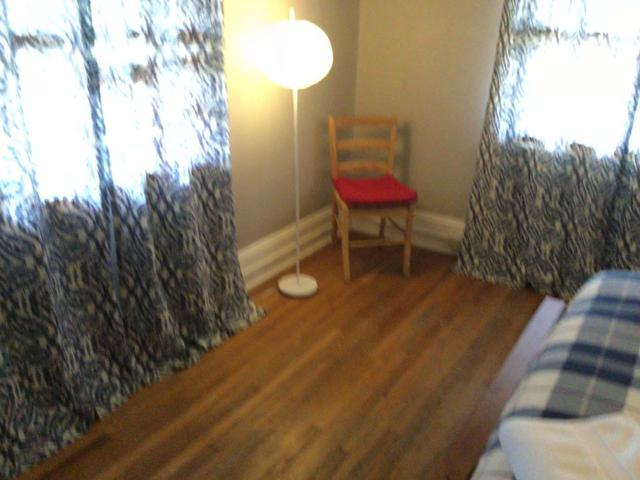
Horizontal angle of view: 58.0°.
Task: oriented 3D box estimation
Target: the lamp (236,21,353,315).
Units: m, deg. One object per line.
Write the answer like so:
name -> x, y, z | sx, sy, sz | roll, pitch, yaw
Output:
lamp -> -0.120, -0.360, 2.930 | 0.400, 1.390, 0.370 | 14, 26, 30
